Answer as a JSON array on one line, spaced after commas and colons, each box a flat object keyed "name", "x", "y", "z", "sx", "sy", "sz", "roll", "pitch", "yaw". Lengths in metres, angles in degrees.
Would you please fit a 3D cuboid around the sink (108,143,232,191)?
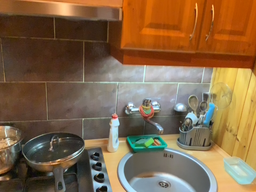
[{"name": "sink", "x": 0.160, "y": 0.420, "z": 0.990, "sx": 0.440, "sy": 0.170, "sz": 0.430, "roll": -1, "pitch": 18, "yaw": -14}]
